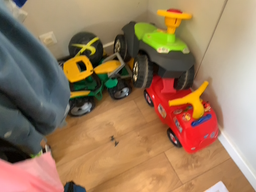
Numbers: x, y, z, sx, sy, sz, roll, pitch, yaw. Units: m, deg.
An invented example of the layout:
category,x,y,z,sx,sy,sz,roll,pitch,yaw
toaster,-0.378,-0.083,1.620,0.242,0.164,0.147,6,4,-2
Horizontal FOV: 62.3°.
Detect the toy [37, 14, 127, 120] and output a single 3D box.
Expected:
category,x,y,z,sx,sy,sz,roll,pitch,yaw
toy,-0.250,-0.160,1.250,0.330,0.360,0.390,-26,64,-13
